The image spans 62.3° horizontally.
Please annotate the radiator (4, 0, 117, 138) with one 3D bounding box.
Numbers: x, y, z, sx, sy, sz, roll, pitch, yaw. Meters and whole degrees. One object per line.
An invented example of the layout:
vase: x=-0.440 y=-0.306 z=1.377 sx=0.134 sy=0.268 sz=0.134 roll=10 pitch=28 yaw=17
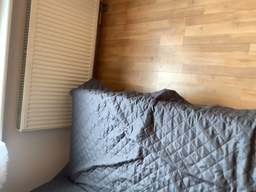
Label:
radiator: x=-0.540 y=-0.300 z=1.830 sx=0.250 sy=0.790 sz=1.190 roll=12 pitch=96 yaw=41
